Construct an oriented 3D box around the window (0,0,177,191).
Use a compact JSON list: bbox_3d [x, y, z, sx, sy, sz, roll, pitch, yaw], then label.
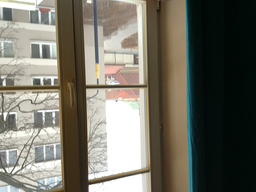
[{"bbox_3d":[-0.290,0.190,1.080,1.190,1.870,0.190,-2,-179,-26],"label":"window"}]
